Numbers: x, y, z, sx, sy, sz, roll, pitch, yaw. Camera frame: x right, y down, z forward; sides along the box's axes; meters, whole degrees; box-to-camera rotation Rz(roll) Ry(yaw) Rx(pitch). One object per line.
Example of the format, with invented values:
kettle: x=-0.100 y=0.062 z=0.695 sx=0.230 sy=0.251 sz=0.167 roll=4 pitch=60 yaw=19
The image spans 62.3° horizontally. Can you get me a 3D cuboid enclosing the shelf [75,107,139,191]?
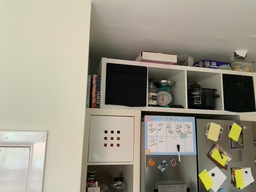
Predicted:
shelf: x=-0.230 y=1.050 z=1.730 sx=0.410 sy=1.840 sz=0.700 roll=4 pitch=-10 yaw=-14

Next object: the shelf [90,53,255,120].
shelf: x=0.410 y=-0.020 z=2.090 sx=1.480 sy=0.430 sz=0.660 roll=4 pitch=-10 yaw=-14
